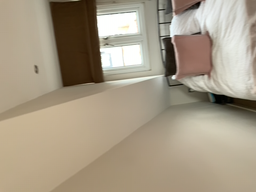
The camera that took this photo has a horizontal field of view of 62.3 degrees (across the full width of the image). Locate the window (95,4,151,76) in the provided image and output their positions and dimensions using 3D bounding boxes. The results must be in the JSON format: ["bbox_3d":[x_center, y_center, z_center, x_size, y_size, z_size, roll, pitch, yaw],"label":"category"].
[{"bbox_3d":[-0.070,-0.830,3.190,0.120,0.730,0.980,-128,31,-79],"label":"window"}]
